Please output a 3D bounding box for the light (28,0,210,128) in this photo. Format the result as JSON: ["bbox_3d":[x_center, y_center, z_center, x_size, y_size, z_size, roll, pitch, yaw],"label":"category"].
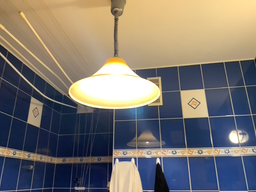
[{"bbox_3d":[-0.030,-0.310,1.140,0.550,0.510,0.680,-40,-118,2],"label":"light"}]
